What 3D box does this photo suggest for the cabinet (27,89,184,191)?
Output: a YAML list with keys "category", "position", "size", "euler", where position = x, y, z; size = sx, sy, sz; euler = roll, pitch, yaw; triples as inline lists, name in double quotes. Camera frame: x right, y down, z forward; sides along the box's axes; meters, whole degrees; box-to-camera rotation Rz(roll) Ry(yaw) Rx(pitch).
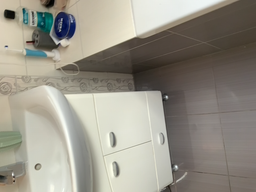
- category: "cabinet"
  position: [-0.060, 0.260, 1.120]
  size: [0.310, 0.750, 0.540]
  euler: [-9, 86, 42]
